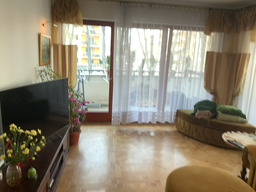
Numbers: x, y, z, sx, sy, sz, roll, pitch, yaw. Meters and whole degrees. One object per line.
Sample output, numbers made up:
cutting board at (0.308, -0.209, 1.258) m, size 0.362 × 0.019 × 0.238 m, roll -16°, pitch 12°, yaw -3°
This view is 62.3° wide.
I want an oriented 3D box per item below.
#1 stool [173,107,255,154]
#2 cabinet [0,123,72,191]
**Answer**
stool at (1.610, 0.620, 4.130) m, size 1.080 × 0.510 × 1.160 m, roll 2°, pitch 12°, yaw -8°
cabinet at (-1.070, 0.820, 2.540) m, size 0.480 × 0.450 × 1.710 m, roll 2°, pitch 12°, yaw -5°
